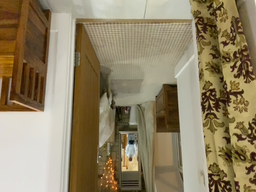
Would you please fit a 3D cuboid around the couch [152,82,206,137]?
[{"bbox_3d":[0.780,0.280,3.550,0.580,0.760,1.060,-1,168,-2],"label":"couch"}]
